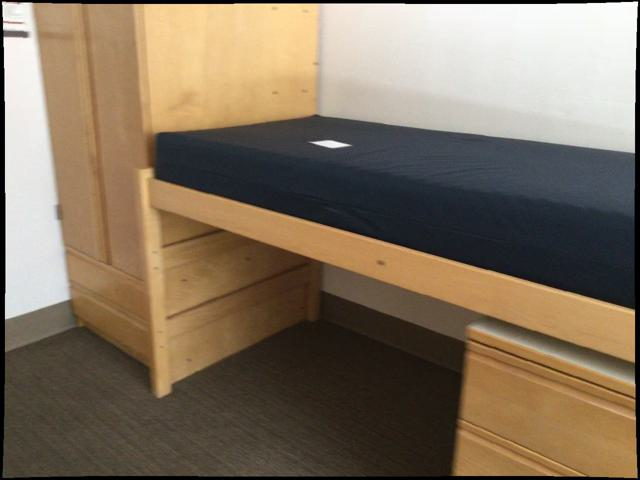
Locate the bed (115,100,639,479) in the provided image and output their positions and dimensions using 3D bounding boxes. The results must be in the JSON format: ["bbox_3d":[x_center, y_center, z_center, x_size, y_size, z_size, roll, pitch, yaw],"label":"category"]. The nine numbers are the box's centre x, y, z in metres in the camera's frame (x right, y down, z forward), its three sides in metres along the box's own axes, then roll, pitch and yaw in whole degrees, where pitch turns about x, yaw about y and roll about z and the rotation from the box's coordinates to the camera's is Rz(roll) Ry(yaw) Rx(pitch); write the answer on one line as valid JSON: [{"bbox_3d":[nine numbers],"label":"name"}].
[{"bbox_3d":[0.440,0.220,1.910,2.189,1.081,1.040,17,25,37],"label":"bed"}]
